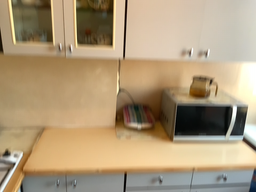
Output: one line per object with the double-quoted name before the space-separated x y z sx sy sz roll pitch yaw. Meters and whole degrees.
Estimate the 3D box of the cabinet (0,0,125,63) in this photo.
"cabinet" -0.320 -0.550 1.100 0.580 0.690 0.320 0 19 -9
